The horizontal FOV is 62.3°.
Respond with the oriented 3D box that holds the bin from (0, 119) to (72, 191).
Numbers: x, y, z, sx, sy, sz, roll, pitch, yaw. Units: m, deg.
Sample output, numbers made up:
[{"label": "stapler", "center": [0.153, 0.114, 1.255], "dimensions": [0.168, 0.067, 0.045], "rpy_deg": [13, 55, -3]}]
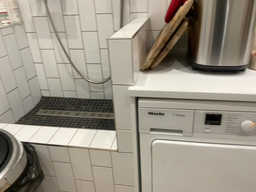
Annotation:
[{"label": "bin", "center": [-0.560, 0.480, 1.010], "dimensions": [0.370, 0.580, 0.410], "rpy_deg": [4, 27, 14]}]
